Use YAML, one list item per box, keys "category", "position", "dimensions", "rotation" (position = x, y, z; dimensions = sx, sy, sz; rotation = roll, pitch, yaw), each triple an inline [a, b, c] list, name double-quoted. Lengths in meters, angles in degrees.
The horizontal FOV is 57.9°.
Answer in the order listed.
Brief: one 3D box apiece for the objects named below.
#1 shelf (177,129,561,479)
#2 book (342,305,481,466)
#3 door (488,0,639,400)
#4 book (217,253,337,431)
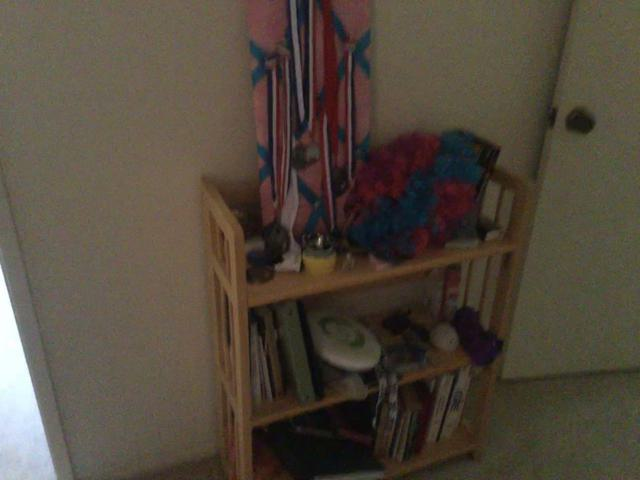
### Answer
- category: "shelf"
  position: [0.120, 0.220, 1.470]
  dimensions: [0.780, 0.820, 0.350]
  rotation: [-14, 30, -23]
- category: "book"
  position: [0.240, 0.390, 1.590]
  dimensions: [0.290, 0.280, 0.220]
  rotation: [-14, 30, -23]
- category: "door"
  position: [1.020, -0.150, 1.680]
  dimensions: [0.870, 1.250, 0.230]
  rotation: [-6, 28, -9]
- category: "book"
  position: [-0.090, 0.220, 1.280]
  dimensions: [0.200, 0.300, 0.170]
  rotation: [-14, 30, -23]
